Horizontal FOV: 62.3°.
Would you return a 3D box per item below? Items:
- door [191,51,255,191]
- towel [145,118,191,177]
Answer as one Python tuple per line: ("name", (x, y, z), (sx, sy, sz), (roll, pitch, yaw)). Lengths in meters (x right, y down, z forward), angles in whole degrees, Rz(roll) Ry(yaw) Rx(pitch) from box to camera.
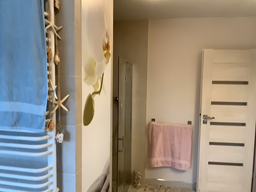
("door", (1.350, 0.510, 2.960), (0.790, 2.220, 0.150), (2, 5, 9))
("towel", (0.590, 0.750, 3.160), (0.630, 0.790, 0.190), (2, 5, 12))
